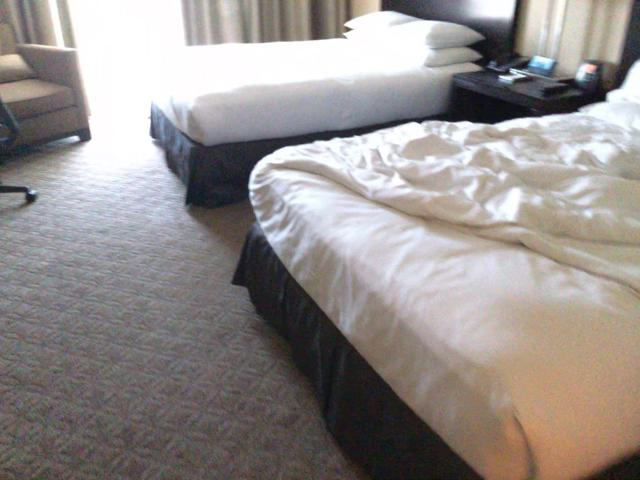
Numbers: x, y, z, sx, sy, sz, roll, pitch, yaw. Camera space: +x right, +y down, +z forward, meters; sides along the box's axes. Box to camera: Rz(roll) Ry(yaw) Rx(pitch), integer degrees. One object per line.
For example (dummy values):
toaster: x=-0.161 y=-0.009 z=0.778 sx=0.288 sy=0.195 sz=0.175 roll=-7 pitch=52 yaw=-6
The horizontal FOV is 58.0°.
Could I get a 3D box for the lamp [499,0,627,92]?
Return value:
lamp: x=1.300 y=-1.260 z=3.080 sx=0.340 sy=0.810 sz=0.490 roll=-11 pitch=28 yaw=-20
